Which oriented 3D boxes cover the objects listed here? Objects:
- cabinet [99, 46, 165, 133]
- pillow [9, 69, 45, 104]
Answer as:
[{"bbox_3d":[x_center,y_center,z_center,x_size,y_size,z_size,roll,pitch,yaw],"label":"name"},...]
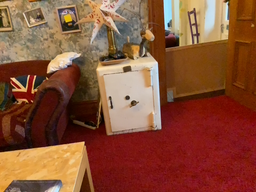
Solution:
[{"bbox_3d":[0.040,-0.110,2.360,0.570,0.740,0.650,-7,20,-2],"label":"cabinet"},{"bbox_3d":[-1.070,-0.100,2.260,0.310,0.340,0.100,-4,-14,4],"label":"pillow"}]
